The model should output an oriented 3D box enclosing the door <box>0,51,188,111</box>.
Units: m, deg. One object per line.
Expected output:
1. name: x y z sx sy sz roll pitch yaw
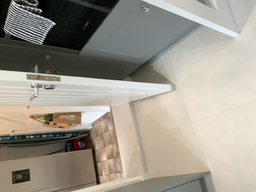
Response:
1. door: -0.610 -0.040 1.260 0.740 2.130 0.180 -14 78 51
